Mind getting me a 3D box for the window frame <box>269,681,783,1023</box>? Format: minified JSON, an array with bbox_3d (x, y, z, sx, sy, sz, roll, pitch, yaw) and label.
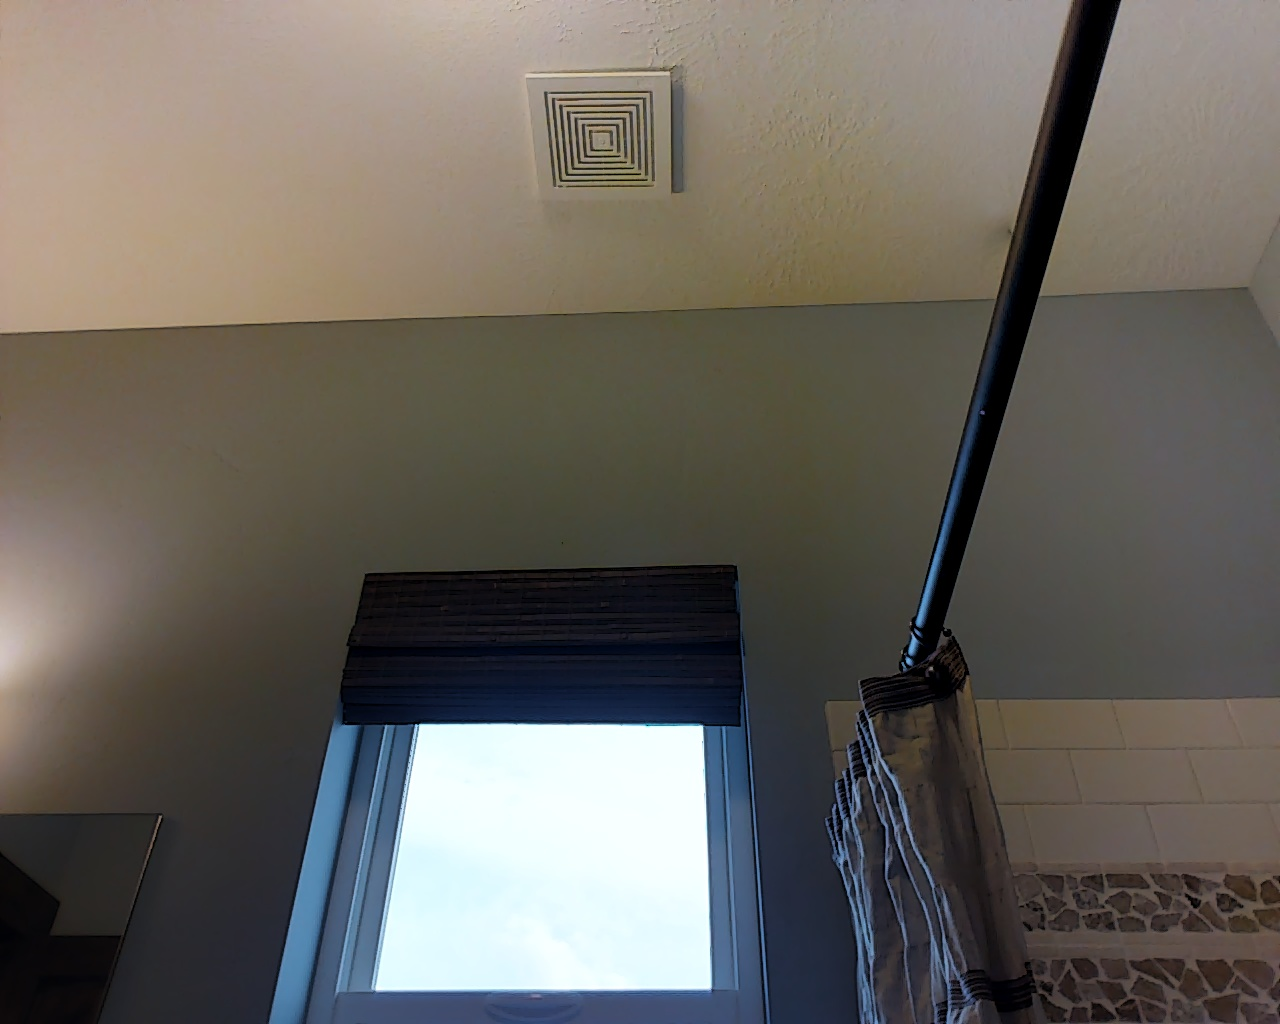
[{"bbox_3d":[-0.130,0.680,1.270,0.590,1.000,0.190,-1,-42,1],"label":"window frame"}]
